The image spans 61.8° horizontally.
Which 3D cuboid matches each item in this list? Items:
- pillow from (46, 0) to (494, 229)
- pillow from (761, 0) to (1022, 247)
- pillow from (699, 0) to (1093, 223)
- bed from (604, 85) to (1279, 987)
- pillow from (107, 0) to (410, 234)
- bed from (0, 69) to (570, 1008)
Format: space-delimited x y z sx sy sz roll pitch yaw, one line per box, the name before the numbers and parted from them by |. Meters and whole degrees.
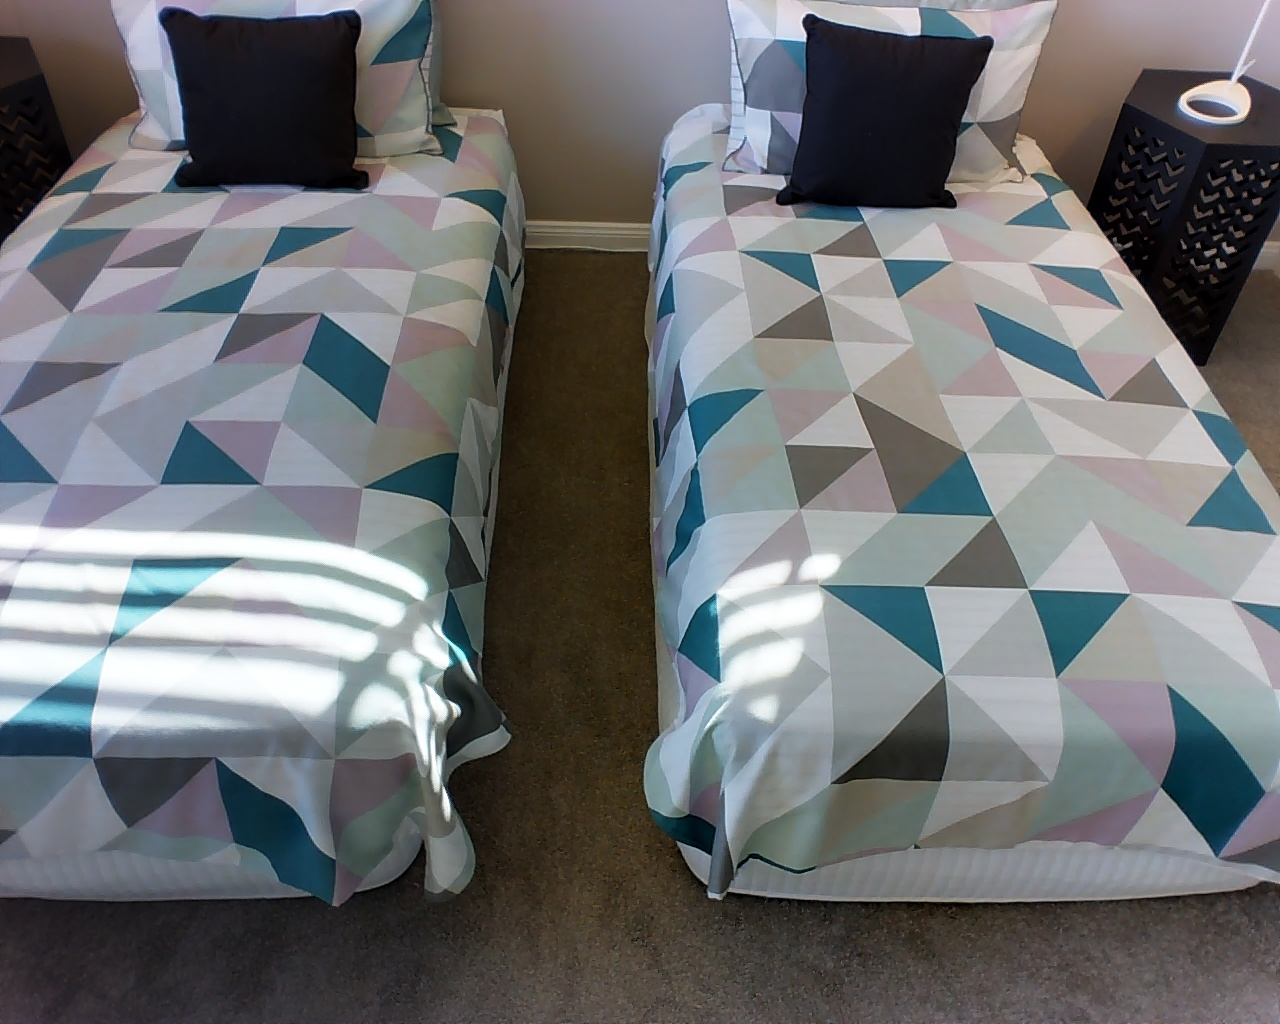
pillow | -0.780 -0.990 2.340 0.780 0.450 0.220 -16 42 12
pillow | 0.540 -0.840 2.280 0.470 0.400 0.160 -14 42 10
pillow | 0.560 -0.960 2.400 0.790 0.420 0.220 -8 42 7
bed | 0.560 -0.200 2.130 1.230 0.470 2.050 0 43 -3
pillow | -0.770 -0.840 2.210 0.440 0.370 0.140 -18 41 11
bed | -0.800 -0.200 2.070 1.280 0.490 2.070 0 43 -3
